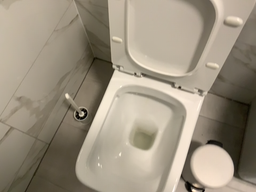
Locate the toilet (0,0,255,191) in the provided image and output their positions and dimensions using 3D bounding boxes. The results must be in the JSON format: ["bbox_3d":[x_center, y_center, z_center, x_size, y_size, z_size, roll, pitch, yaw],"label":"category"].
[{"bbox_3d":[0.080,0.020,0.760,0.410,0.860,0.660,19,70,11],"label":"toilet"}]
